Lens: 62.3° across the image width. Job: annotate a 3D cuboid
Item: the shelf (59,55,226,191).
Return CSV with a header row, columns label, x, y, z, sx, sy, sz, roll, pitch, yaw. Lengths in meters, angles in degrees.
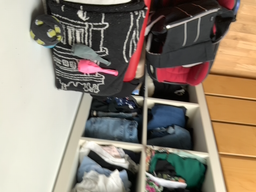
label,x,y,z,sx,sy,sz,roll,pitch,yaw
shelf,0.070,0.430,1.300,0.770,1.480,0.480,7,137,-2
